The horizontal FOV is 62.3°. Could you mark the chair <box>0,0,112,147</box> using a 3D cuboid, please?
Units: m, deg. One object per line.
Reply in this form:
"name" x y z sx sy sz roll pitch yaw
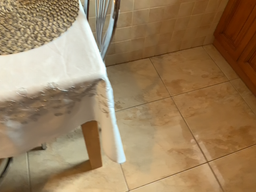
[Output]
"chair" -0.310 -0.150 0.930 0.410 0.870 0.340 -12 57 -12
